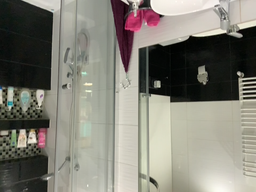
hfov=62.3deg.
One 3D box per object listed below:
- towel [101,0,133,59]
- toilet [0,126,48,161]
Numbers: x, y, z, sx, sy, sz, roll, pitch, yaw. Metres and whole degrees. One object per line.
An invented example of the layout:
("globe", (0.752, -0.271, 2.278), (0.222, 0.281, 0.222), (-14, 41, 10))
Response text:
("towel", (-0.070, -0.510, 1.420), (0.140, 0.480, 0.150), (-3, 175, 40))
("toilet", (-1.030, 0.400, 1.770), (0.100, 0.250, 0.730), (-2, 175, 36))
